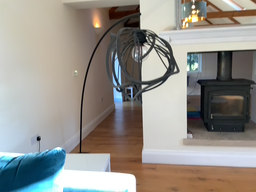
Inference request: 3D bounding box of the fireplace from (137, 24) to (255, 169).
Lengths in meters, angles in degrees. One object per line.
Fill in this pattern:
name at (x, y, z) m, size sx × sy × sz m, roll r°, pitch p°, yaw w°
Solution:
fireplace at (1.270, -0.040, 2.890) m, size 2.130 × 1.620 × 1.070 m, roll 0°, pitch 10°, yaw 10°
